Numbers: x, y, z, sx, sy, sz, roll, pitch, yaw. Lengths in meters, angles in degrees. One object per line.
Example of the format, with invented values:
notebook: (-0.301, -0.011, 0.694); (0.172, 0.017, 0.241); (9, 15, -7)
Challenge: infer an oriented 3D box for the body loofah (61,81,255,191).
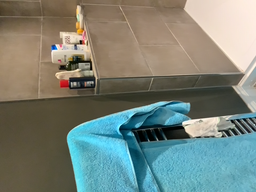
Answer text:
body loofah: (0.360, 0.350, 0.810); (0.200, 1.140, 0.940); (105, 155, -45)
